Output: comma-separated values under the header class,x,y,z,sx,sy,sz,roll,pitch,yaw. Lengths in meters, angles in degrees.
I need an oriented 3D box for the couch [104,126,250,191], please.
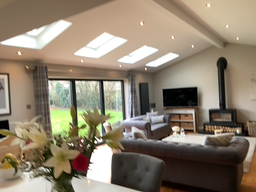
class,x,y,z,sx,sy,sz,roll,pitch,yaw
couch,0.760,1.040,3.680,2.260,0.760,0.930,-1,2,35
